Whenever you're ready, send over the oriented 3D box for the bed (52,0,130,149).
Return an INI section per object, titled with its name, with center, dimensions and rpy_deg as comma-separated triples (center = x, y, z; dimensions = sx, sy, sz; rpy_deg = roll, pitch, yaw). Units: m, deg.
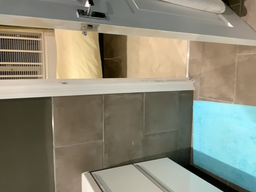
[bed]
center = -0.610, -0.390, 3.060
dimensions = 1.340, 0.680, 1.890
rpy_deg = 4, 96, 63
